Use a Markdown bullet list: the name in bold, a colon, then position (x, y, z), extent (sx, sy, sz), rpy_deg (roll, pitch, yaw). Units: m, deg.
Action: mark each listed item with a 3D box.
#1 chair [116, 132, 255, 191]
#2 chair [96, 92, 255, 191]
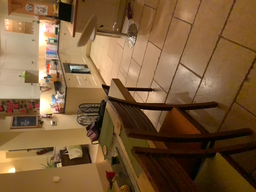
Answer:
- **chair**: position (0.500, 0.570, 1.200), extent (0.480, 0.990, 0.490), rpy_deg (-123, 42, -51)
- **chair**: position (0.330, 0.310, 1.600), extent (0.460, 0.980, 0.490), rpy_deg (-123, 42, -51)
